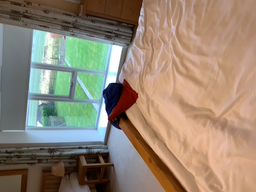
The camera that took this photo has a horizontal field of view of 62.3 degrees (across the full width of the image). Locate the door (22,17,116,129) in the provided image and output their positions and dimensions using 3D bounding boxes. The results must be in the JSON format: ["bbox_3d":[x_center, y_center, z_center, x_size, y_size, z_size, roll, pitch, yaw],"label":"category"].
[{"bbox_3d":[-1.080,-0.270,3.870,0.090,1.430,1.930,44,126,58],"label":"door"}]
